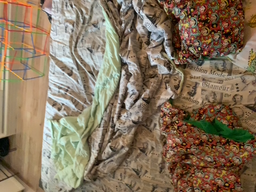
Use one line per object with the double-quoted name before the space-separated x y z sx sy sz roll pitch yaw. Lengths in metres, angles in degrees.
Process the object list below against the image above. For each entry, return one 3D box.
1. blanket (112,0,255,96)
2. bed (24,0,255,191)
"blanket" 0.270 -0.380 0.820 0.580 0.170 0.580 22 110 29
"bed" 0.020 0.080 1.360 1.680 0.280 2.310 22 110 29
